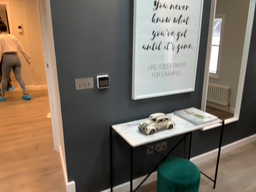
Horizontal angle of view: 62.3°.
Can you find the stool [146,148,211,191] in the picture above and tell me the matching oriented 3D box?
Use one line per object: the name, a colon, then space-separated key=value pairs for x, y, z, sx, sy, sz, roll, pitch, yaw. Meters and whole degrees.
stool: x=0.430 y=0.800 z=1.910 sx=0.390 sy=0.440 sz=0.390 roll=-9 pitch=18 yaw=-25
